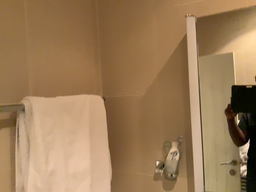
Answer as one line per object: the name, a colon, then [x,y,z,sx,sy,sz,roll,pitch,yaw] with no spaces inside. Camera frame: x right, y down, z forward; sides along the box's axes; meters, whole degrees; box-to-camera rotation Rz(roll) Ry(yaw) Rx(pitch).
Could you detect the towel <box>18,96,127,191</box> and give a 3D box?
towel: [-0.180,0.270,0.890,0.130,0.510,0.500,-3,1,24]
